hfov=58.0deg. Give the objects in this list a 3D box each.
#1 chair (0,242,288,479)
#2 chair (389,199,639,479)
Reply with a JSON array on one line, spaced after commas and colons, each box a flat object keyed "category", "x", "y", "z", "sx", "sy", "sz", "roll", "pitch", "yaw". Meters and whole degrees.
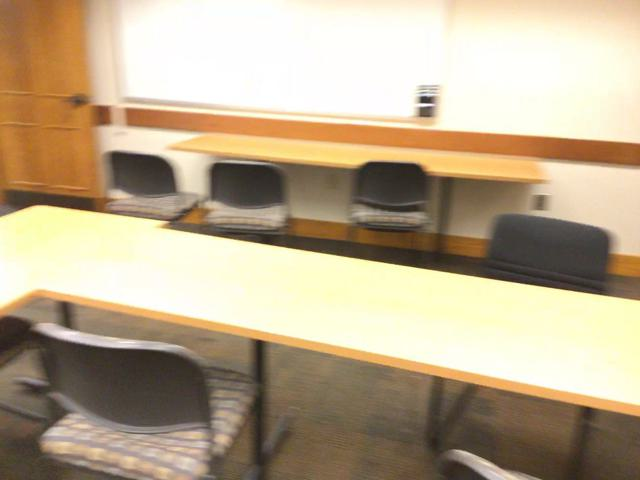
[{"category": "chair", "x": -0.450, "y": 0.460, "z": 1.610, "sx": 0.510, "sy": 0.700, "sz": 0.630, "roll": 8, "pitch": 17, "yaw": 14}, {"category": "chair", "x": 0.700, "y": 0.340, "z": 1.990, "sx": 0.620, "sy": 0.770, "sz": 0.700, "roll": 13, "pitch": 19, "yaw": 27}]
